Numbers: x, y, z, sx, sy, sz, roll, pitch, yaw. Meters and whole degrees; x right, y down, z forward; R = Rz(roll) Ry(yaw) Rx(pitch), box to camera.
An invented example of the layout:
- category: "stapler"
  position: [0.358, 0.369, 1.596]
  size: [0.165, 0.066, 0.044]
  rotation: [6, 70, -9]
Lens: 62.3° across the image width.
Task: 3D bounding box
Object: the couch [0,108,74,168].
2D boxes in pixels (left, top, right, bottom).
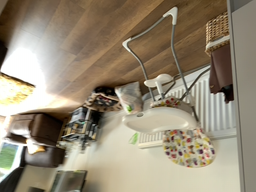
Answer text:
- category: "couch"
  position: [-2.020, 0.920, 4.530]
  size: [1.160, 0.960, 0.970]
  rotation: [-6, 152, 28]
